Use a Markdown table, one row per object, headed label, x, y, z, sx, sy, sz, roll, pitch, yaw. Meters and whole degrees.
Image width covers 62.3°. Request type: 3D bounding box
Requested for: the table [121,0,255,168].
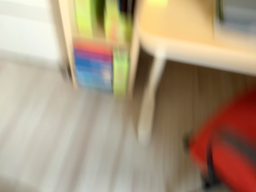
| label | x | y | z | sx | sy | sz | roll | pitch | yaw |
| --- | --- | --- | --- | --- | --- | --- | --- | --- | --- |
| table | 0.630 | -0.140 | 1.210 | 1.180 | 0.750 | 0.760 | 10 | 51 | 1 |
